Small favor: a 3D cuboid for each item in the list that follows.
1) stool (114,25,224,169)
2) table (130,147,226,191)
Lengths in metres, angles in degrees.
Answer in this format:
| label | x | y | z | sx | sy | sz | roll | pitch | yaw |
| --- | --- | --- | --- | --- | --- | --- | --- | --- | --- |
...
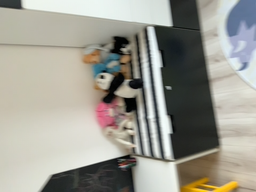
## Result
| label | x | y | z | sx | sy | sz | roll | pitch | yaw |
| --- | --- | --- | --- | --- | --- | --- | --- | --- | --- |
| stool | 0.300 | 0.010 | 1.730 | 0.540 | 0.510 | 0.940 | -15 | 82 | 58 |
| table | 0.420 | 0.900 | 1.680 | 0.500 | 0.500 | 0.860 | -15 | 82 | 58 |
